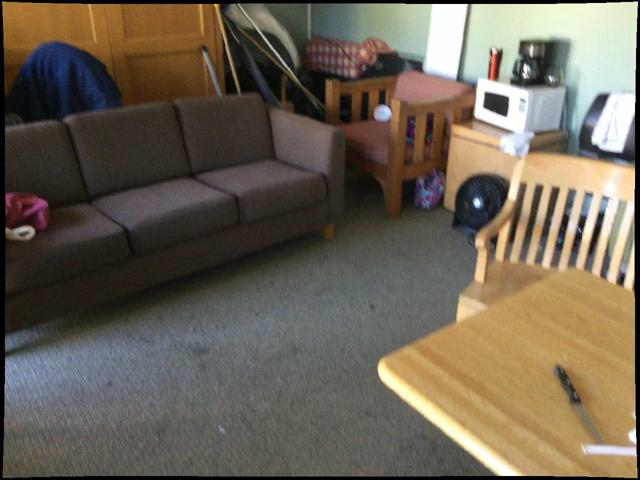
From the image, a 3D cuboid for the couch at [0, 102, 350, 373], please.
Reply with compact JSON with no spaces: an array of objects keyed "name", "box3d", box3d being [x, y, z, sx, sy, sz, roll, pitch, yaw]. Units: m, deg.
[{"name":"couch","box3d":[-0.759,-0.130,2.840,1.839,0.671,0.600,-20,34,-32]}]
